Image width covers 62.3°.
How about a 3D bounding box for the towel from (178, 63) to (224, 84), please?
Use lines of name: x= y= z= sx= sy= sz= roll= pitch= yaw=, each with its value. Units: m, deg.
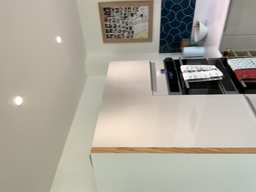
towel: x=0.670 y=-0.210 z=1.970 sx=0.220 sy=0.360 sz=0.070 roll=-87 pitch=-5 yaw=-49
